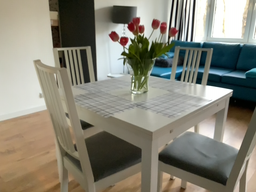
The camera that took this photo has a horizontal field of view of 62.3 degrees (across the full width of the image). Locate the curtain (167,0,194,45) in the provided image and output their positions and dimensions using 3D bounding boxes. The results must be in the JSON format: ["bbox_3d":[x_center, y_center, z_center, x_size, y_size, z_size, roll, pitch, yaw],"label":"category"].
[{"bbox_3d":[1.160,-1.980,4.600,0.100,1.680,0.540,-15,23,-42],"label":"curtain"}]
